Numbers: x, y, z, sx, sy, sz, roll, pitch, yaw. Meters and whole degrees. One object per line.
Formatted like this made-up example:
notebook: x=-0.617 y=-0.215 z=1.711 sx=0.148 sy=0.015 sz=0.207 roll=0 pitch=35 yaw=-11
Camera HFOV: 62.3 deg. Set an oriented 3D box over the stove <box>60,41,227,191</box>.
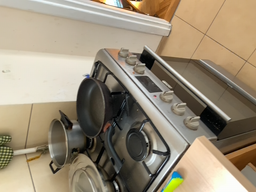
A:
stove: x=-0.040 y=0.200 z=0.840 sx=0.510 sy=0.180 sz=0.630 roll=51 pitch=129 yaw=38
